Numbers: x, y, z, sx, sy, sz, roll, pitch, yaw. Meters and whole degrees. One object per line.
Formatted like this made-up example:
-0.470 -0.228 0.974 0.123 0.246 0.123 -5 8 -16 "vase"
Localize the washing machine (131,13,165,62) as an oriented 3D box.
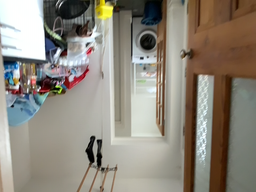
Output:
0.390 -1.140 4.270 0.630 0.870 0.650 0 -172 4 "washing machine"
